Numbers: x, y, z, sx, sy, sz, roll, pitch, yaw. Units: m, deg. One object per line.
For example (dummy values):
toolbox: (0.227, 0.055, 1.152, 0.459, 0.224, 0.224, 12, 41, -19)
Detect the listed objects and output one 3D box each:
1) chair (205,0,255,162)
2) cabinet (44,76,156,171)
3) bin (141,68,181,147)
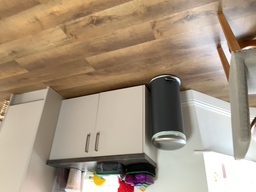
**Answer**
chair: (0.850, -0.130, 1.310, 0.540, 0.920, 0.450, -10, 148, 20)
cabinet: (-0.270, 0.320, 2.270, 1.020, 0.800, 0.400, -10, 148, 20)
bin: (0.320, 0.120, 2.090, 0.280, 0.650, 0.370, -9, 148, 18)
